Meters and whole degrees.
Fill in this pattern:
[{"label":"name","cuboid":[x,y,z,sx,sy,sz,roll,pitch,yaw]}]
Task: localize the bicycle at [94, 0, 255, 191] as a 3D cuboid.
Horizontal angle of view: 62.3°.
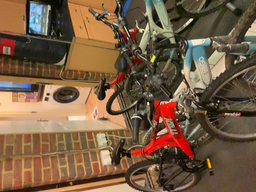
[{"label":"bicycle","cuboid":[0.390,0.290,1.520,1.720,0.720,0.550,-60,39,40]}]
